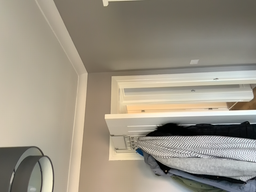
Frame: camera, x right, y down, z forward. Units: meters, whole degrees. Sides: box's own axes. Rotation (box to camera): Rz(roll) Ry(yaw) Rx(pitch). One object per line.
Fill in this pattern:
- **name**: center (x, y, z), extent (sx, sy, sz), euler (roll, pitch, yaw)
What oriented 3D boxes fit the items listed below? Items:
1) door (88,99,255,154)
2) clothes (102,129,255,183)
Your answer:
- **door**: center (0.780, 0.290, 1.750), extent (0.780, 2.060, 0.130), euler (84, -175, -57)
- **clothes**: center (0.590, 0.500, 1.640), extent (0.840, 1.450, 0.260), euler (83, -174, -66)
